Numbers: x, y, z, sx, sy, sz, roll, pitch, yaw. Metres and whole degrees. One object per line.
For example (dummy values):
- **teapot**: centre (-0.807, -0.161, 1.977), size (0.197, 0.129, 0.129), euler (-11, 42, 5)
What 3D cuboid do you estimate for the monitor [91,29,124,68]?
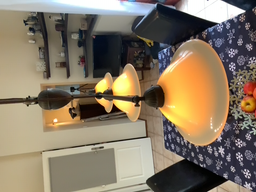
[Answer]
- **monitor**: centre (-0.370, -0.840, 3.820), size (0.060, 0.560, 0.680), euler (-120, 31, -54)

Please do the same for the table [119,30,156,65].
- **table**: centre (0.160, -0.900, 3.930), size (0.400, 0.530, 0.510), euler (-120, 31, -54)
